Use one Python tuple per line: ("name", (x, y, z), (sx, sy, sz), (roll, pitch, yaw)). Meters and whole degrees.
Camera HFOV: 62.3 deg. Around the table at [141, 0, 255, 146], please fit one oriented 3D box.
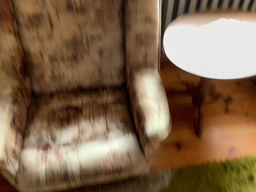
("table", (0.500, -0.180, 1.380), (0.670, 0.640, 0.660), (-8, 47, -8))
